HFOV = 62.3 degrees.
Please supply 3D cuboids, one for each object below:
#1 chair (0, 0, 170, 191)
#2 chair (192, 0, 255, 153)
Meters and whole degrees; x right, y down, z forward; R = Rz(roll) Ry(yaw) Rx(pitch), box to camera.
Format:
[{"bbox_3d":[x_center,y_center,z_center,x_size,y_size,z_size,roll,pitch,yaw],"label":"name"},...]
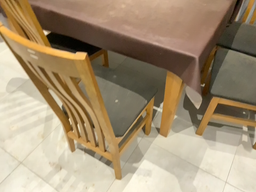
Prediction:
[{"bbox_3d":[-0.150,0.000,1.140,0.450,1.000,0.570,21,53,19],"label":"chair"},{"bbox_3d":[0.800,-0.150,1.260,0.540,0.980,0.480,16,51,15],"label":"chair"}]
